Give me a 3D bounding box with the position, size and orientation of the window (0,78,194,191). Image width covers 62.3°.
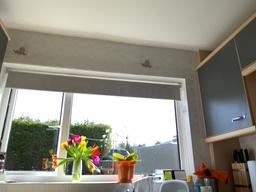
[{"bbox_3d":[-0.290,0.370,2.020,1.760,0.970,0.180,3,-20,-10],"label":"window"}]

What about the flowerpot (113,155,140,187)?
[{"bbox_3d":[-0.020,0.660,1.880,0.210,0.250,0.270,2,-20,-6],"label":"flowerpot"}]
